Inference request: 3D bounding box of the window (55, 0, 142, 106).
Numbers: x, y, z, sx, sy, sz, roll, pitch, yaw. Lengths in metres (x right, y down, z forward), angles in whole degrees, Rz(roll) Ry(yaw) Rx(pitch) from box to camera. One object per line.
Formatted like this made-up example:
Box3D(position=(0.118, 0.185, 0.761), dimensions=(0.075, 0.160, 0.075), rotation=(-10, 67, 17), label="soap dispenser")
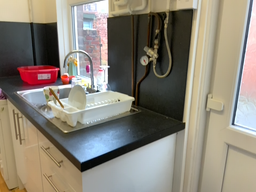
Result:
Box3D(position=(-0.330, -0.760, 1.970), dimensions=(0.300, 1.470, 1.000), rotation=(-11, 21, -39), label="window")
